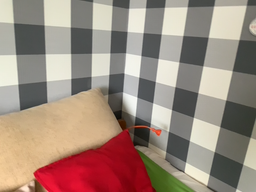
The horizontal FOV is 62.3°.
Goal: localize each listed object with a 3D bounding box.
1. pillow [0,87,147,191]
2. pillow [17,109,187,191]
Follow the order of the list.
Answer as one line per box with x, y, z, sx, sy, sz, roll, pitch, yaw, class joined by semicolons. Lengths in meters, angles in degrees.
-0.290;0.250;0.940;0.360;0.420;0.690;19;22;39;pillow
-0.040;0.350;0.850;0.600;0.380;0.140;-27;-2;-46;pillow
